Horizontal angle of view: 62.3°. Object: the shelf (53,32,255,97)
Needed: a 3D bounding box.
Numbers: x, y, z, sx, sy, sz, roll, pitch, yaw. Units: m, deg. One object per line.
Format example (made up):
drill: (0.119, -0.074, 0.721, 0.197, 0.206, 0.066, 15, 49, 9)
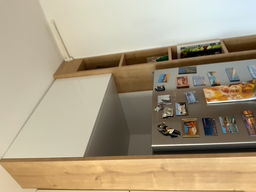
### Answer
shelf: (0.730, -0.240, 1.310, 0.210, 2.470, 0.210, -80, -19, -49)
